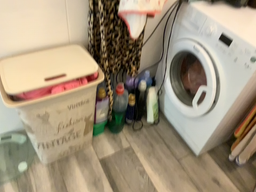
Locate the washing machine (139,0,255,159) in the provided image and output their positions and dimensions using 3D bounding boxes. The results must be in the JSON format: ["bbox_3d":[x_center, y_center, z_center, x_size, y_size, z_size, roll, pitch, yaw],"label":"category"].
[{"bbox_3d":[0.580,-0.170,1.430,0.640,0.820,0.660,-17,52,-24],"label":"washing machine"}]

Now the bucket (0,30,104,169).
[{"bbox_3d":[-0.400,0.040,1.210,0.380,0.670,0.340,-19,52,-26],"label":"bucket"}]
